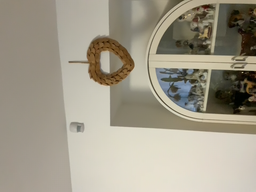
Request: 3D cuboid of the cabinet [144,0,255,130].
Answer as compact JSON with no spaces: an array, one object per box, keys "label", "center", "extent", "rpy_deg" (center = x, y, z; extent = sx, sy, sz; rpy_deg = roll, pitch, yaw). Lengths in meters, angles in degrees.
[{"label":"cabinet","center":[1.010,-0.210,1.390],"extent":[0.410,1.770,0.780],"rpy_deg":[-73,-16,-69]}]
